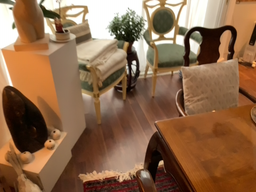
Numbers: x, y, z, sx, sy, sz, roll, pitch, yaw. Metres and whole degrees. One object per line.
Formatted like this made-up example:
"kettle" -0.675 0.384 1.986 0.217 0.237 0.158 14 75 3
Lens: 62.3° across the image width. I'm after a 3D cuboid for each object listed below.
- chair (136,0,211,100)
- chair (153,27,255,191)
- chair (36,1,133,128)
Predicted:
"chair" 0.470 -0.570 2.510 0.540 1.030 0.540 -11 35 -17
"chair" 0.590 0.160 1.420 0.540 1.010 0.660 -9 35 -15
"chair" -0.360 -0.340 2.150 0.560 1.020 0.650 18 37 24
